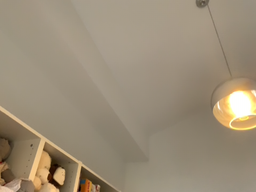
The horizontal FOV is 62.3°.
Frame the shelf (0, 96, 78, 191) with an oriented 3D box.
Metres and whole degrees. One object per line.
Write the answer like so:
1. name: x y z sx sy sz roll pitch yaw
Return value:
1. shelf: -0.670 0.240 0.970 0.290 0.350 1.170 -9 -39 15
